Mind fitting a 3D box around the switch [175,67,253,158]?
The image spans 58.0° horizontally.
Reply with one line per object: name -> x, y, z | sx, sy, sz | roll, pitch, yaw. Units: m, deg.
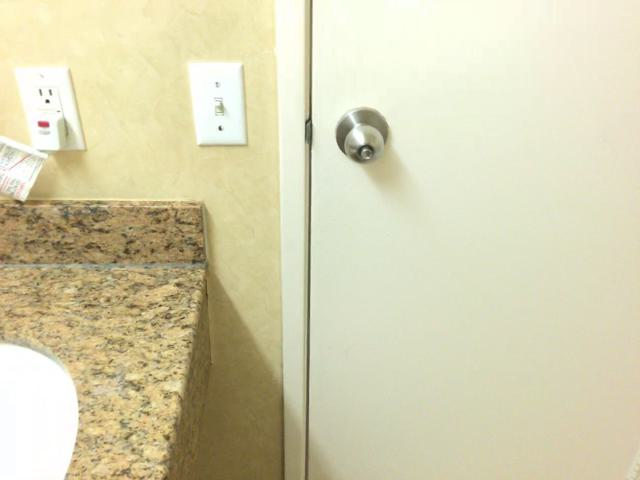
switch -> -0.140, -0.170, 0.780 | 0.090, 0.120, 0.010 | -3, 31, -2

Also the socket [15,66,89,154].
socket -> -0.350, -0.170, 0.760 | 0.060, 0.110, 0.020 | -3, 31, -2
